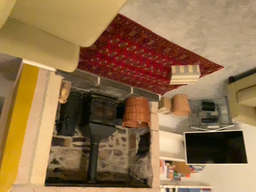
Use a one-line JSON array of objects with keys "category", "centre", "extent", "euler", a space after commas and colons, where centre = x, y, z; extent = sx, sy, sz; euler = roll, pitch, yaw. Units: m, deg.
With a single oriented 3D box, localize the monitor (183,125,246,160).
[{"category": "monitor", "centre": [1.360, 0.760, 3.410], "extent": [0.880, 0.510, 0.050], "euler": [-7, 157, 21]}]
